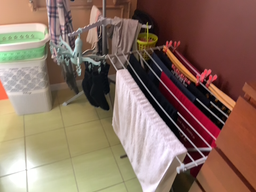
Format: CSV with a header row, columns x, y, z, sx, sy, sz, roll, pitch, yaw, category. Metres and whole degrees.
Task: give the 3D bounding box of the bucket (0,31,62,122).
x,y,z,sx,sy,sz,roll,pitch,yaw,category
-0.890,-0.170,1.920,0.470,0.710,0.350,-7,43,-15,bucket
